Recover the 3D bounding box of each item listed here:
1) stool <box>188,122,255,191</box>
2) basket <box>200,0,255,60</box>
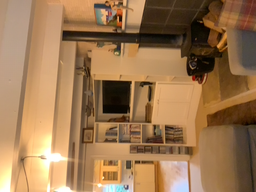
[{"bbox_3d":[1.110,0.770,2.460,0.980,0.460,0.870,110,162,-79],"label":"stool"},{"bbox_3d":[1.030,-0.690,2.040,0.450,0.470,0.530,106,165,-77],"label":"basket"}]
